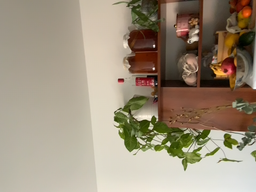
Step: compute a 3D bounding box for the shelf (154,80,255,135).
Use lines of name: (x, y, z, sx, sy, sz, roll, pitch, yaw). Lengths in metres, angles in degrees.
shelf: (1.180, 0.080, 1.400, 0.310, 1.970, 0.310, -40, -50, -68)
